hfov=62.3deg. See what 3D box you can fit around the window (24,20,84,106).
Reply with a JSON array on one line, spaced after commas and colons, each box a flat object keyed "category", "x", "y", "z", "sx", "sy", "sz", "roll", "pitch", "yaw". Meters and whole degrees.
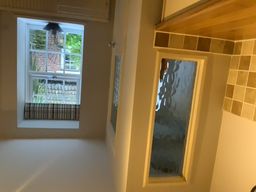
[{"category": "window", "x": -1.150, "y": -0.470, "z": 3.290, "sx": 0.840, "sy": 1.250, "sz": 0.050, "roll": 3, "pitch": -170, "yaw": -15}]
